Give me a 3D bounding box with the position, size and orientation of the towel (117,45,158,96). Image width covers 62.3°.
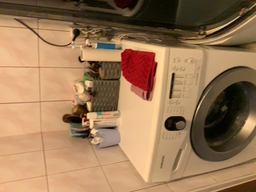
[{"bbox_3d":[0.030,-0.120,0.930,0.240,0.060,0.180,-146,58,-60],"label":"towel"}]
